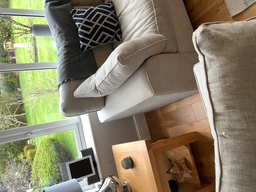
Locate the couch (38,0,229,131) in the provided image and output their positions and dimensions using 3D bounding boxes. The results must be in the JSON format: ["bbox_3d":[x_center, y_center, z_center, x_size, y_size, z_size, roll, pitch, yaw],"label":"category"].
[{"bbox_3d":[-0.230,-0.960,1.930,1.140,0.900,2.230,-33,69,57],"label":"couch"}]
